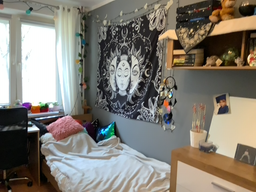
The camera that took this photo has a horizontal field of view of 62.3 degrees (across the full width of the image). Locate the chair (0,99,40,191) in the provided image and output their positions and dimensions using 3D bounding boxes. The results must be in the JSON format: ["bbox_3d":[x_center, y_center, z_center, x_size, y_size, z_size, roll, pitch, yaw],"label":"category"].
[{"bbox_3d":[-1.470,0.620,2.520,0.640,1.070,0.660,-2,8,-36],"label":"chair"}]
